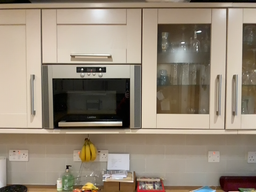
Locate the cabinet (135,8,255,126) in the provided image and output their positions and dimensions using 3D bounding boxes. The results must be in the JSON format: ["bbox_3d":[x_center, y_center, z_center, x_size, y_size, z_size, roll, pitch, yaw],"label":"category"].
[{"bbox_3d":[0.560,-0.180,1.470,1.010,0.720,0.330,0,2,0],"label":"cabinet"}]
